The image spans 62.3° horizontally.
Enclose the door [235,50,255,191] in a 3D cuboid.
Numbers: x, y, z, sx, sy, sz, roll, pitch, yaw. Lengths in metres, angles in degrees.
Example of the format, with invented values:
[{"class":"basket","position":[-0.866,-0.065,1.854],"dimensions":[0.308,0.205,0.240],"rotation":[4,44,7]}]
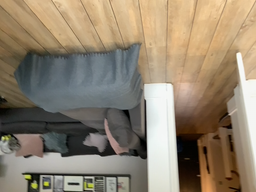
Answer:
[{"class":"door","position":[1.170,0.690,1.980],"dimensions":[0.040,2.080,0.850],"rotation":[-8,161,25]}]
